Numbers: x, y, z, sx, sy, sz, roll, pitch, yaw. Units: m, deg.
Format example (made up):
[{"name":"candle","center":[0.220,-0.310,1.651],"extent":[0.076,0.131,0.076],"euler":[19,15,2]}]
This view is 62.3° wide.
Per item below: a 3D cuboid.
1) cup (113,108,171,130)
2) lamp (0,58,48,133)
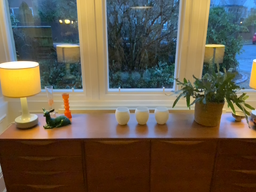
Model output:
[{"name":"cup","center":[0.100,0.170,1.600],"extent":[0.420,0.100,0.150],"euler":[1,20,0]},{"name":"lamp","center":[-0.770,-0.010,1.520],"extent":[0.250,0.480,0.250],"euler":[0,20,-2]}]
